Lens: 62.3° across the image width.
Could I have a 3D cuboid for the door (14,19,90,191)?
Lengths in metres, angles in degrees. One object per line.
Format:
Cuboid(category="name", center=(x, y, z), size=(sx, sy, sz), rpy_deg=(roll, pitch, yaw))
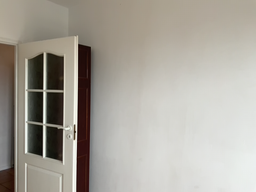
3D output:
Cuboid(category="door", center=(-0.830, 0.390, 2.210), size=(0.950, 2.180, 0.150), rpy_deg=(2, 2, 31))
